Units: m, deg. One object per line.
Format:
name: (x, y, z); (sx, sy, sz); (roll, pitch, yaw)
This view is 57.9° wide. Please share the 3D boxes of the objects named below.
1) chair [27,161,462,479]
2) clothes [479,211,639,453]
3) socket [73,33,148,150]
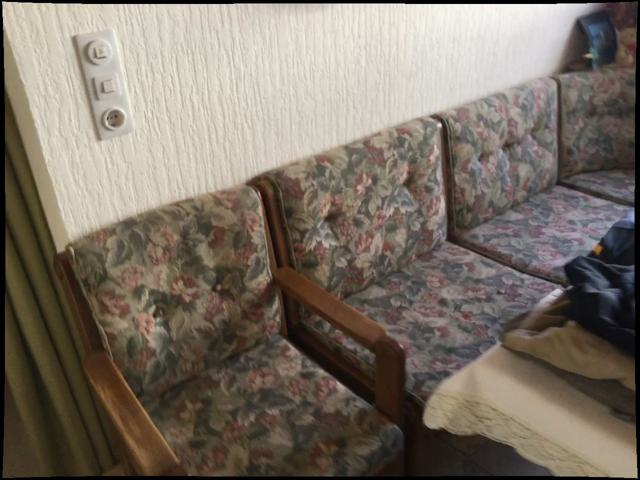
chair: (-0.160, 0.380, 1.420); (0.650, 0.841, 0.650); (-25, 38, -32)
clothes: (0.589, 0.160, 1.010); (0.390, 0.160, 0.440); (-25, 38, -32)
socket: (-0.450, -0.320, 1.250); (0.080, 0.220, 0.090); (-25, 38, -32)
